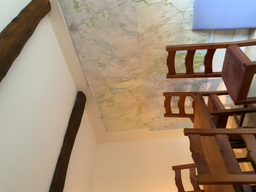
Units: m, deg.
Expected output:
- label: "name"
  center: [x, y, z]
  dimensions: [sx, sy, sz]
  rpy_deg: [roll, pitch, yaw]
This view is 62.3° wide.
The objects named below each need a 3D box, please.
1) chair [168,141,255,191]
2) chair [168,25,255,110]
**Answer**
- label: "chair"
  center: [1.030, 0.900, 2.490]
  dimensions: [0.430, 1.040, 0.560]
  rpy_deg: [-90, -7, -46]
- label: "chair"
  center: [0.930, -0.290, 2.080]
  dimensions: [0.600, 0.970, 0.490]
  rpy_deg: [-90, -7, -45]
